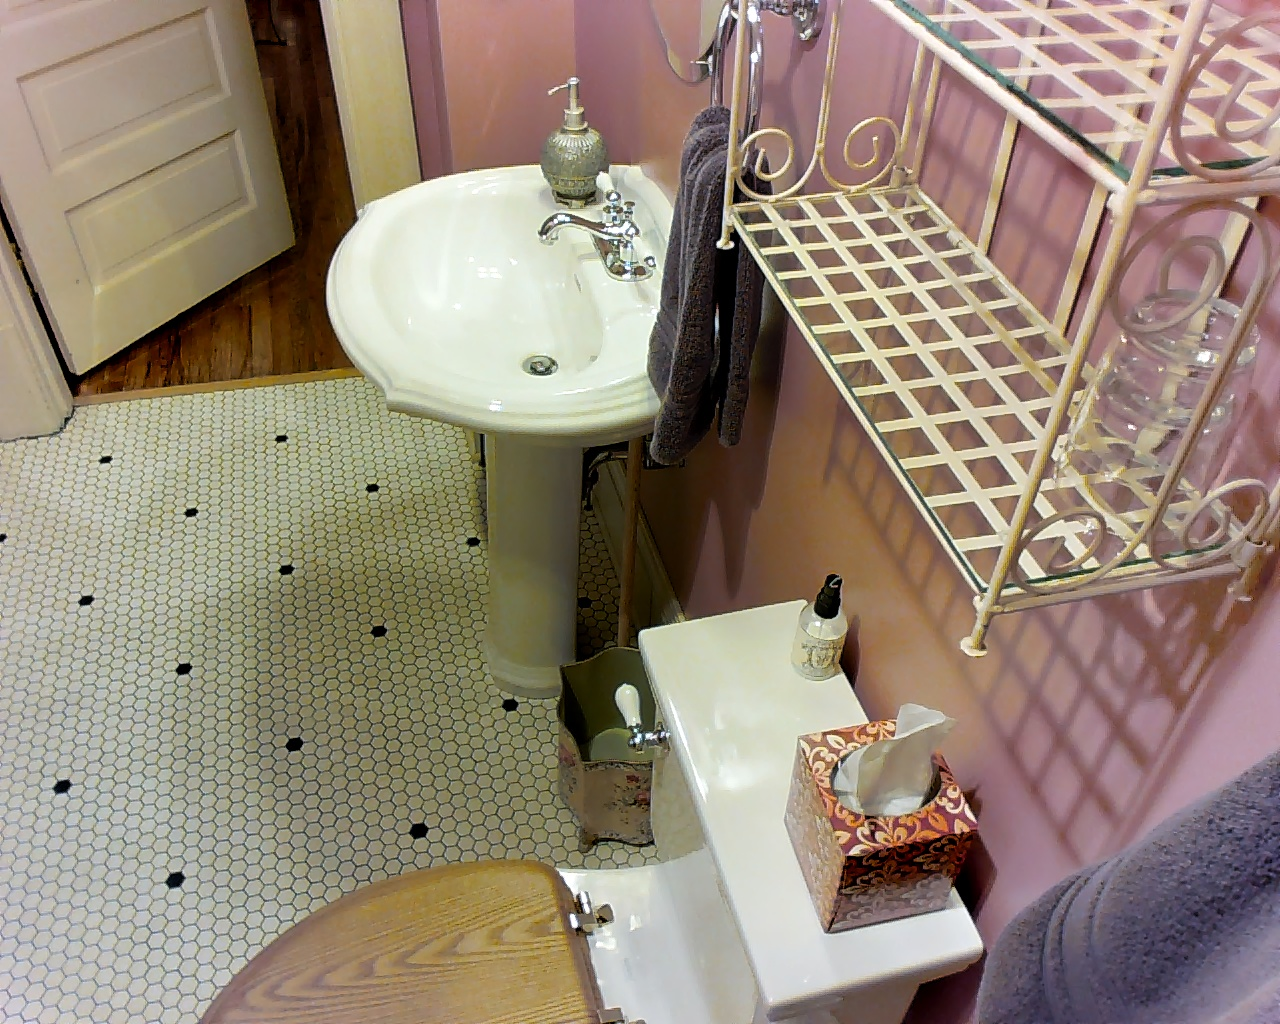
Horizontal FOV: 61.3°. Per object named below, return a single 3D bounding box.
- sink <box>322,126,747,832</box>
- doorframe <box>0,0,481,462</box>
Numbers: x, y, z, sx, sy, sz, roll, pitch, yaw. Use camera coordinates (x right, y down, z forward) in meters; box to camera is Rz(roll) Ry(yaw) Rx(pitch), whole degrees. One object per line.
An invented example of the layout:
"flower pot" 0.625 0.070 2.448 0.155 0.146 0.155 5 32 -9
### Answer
"sink" -0.190 -0.050 1.800 0.490 0.890 0.680 -9 43 -10
"doorframe" -0.940 -1.100 1.900 1.090 2.270 0.180 -9 43 -11
